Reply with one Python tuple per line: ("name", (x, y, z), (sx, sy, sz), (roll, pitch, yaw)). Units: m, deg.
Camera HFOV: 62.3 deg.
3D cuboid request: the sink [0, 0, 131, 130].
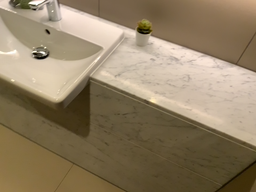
("sink", (-0.350, -0.200, 0.860), (0.560, 0.150, 0.480), (23, 51, 12))
